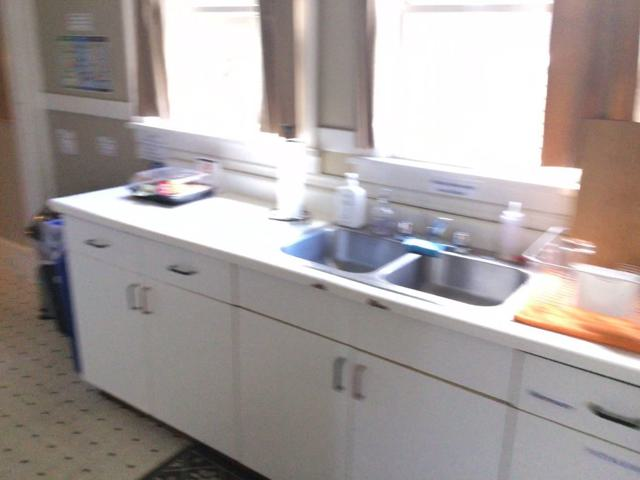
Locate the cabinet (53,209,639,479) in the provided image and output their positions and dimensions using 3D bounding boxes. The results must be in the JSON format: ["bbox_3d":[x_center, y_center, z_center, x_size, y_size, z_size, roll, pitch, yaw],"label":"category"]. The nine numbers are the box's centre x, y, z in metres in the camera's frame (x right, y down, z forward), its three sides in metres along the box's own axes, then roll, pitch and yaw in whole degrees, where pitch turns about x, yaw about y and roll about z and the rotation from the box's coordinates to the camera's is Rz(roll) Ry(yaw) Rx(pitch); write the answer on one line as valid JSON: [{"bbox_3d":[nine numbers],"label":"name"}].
[{"bbox_3d":[0.100,0.550,1.780,2.770,0.880,0.200,12,18,33],"label":"cabinet"}]

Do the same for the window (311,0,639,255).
[{"bbox_3d":[0.550,-0.720,1.860,1.090,1.300,0.400,12,18,33],"label":"window"}]

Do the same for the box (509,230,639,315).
[{"bbox_3d":[0.690,0.070,1.530,0.250,0.090,0.380,12,18,33],"label":"box"}]

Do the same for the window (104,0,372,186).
[{"bbox_3d":[-0.390,-0.950,2.370,1.240,1.290,0.250,12,18,33],"label":"window"}]
